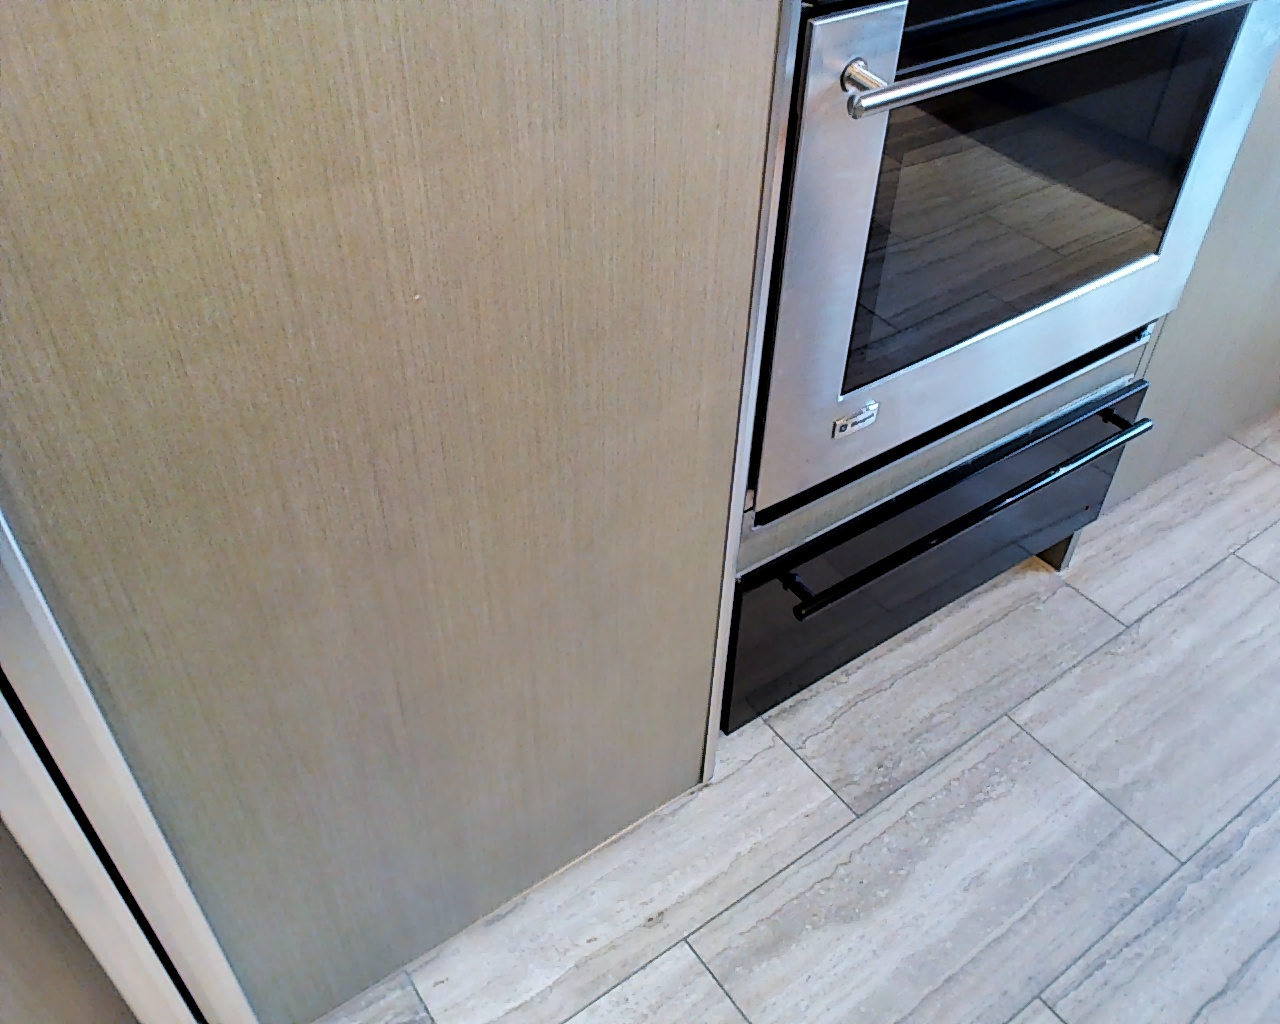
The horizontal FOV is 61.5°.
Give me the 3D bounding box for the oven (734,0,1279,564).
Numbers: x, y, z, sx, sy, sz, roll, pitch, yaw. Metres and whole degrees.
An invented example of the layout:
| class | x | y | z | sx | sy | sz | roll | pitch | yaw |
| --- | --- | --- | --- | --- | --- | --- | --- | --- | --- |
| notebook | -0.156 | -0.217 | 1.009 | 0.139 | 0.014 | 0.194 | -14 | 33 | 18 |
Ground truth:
| class | x | y | z | sx | sy | sz | roll | pitch | yaw |
| --- | --- | --- | --- | --- | --- | --- | --- | --- | --- |
| oven | 0.450 | -0.370 | 1.130 | 0.790 | 0.700 | 0.060 | -24 | 47 | -26 |
